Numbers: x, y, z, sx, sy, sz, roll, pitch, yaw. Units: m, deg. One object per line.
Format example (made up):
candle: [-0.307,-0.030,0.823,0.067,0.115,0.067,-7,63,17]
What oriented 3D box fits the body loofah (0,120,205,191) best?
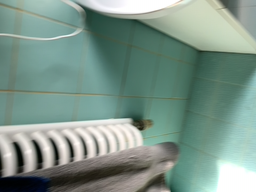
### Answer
body loofah: [-0.220,0.330,0.550,0.130,1.570,0.430,18,100,40]
